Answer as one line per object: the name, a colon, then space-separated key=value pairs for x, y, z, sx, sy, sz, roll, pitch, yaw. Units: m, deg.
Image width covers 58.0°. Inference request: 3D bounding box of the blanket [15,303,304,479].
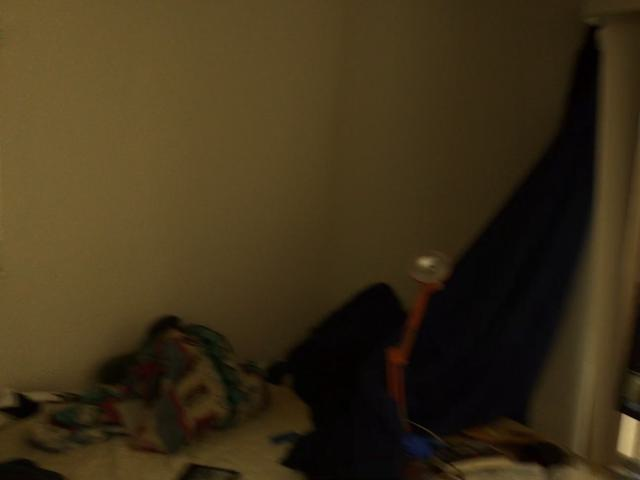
blanket: x=-0.610 y=0.490 z=2.140 sx=0.830 sy=0.300 sz=0.710 roll=0 pitch=9 yaw=-35
